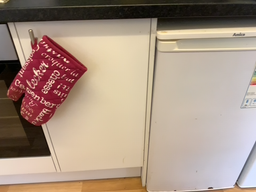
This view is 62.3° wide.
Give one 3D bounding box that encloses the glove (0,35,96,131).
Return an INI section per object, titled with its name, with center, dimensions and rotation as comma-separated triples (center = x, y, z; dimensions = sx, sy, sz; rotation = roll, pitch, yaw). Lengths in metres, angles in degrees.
[glove]
center = -0.270, -0.030, 0.720
dimensions = 0.290, 0.330, 0.070
rotation = -2, 37, -4
